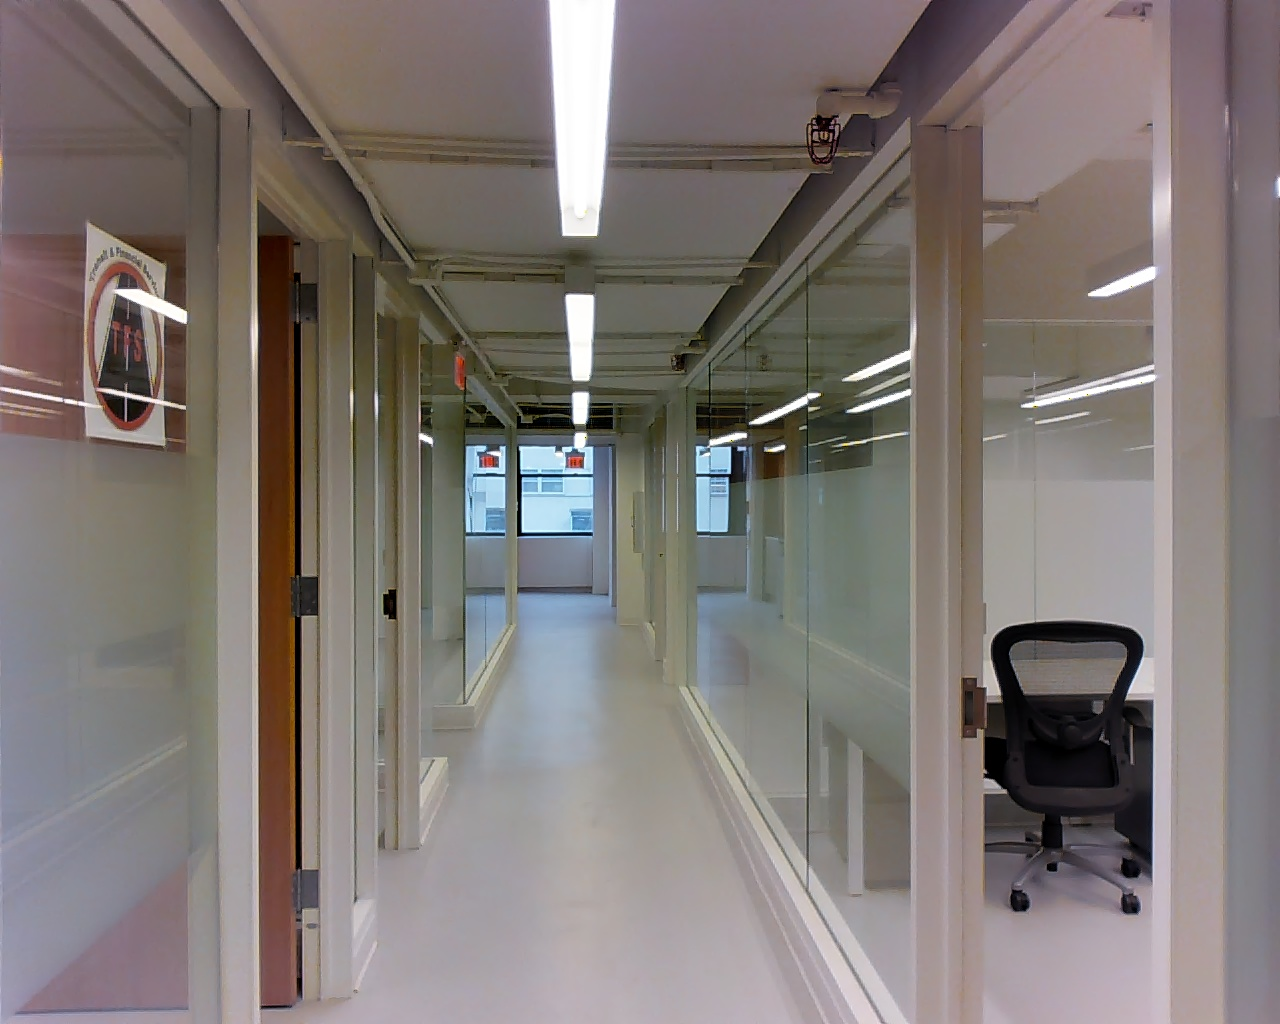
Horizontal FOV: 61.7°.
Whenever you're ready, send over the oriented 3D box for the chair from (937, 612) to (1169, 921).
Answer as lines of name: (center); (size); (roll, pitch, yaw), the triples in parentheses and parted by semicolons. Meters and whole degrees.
chair: (1.550, 0.930, 4.090); (0.660, 1.040, 0.540); (0, 0, -4)
